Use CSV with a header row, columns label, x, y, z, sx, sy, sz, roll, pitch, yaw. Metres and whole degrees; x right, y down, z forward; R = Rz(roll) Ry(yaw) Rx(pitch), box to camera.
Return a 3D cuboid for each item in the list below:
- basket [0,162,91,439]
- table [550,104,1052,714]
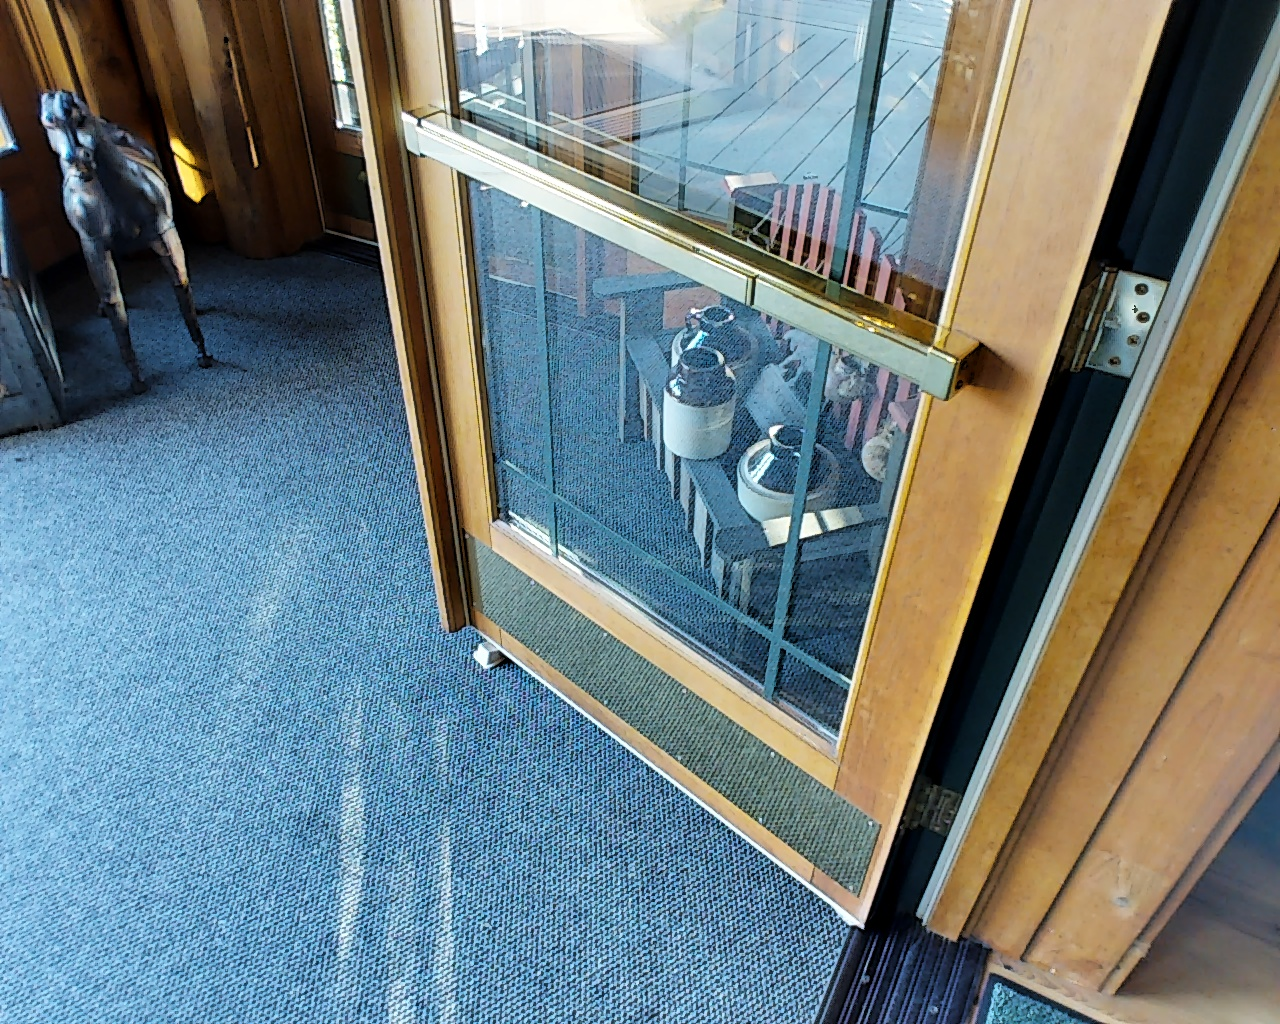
label,x,y,z,sx,sy,sz,roll,pitch,yaw
basket,-1.560,-0.480,2.490,0.400,0.390,0.550,-15,45,-17
table,0.200,-0.250,2.050,0.550,0.630,0.990,-9,43,-10
